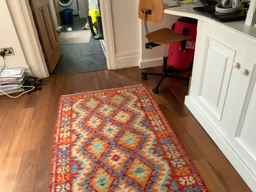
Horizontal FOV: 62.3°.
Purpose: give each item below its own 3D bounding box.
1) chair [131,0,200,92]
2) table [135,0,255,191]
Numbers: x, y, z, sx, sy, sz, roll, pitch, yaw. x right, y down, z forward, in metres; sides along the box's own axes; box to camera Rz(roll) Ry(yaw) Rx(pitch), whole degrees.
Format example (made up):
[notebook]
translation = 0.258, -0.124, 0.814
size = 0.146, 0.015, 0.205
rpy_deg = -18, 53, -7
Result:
[chair]
translation = 0.370, -0.580, 2.230
size = 0.530, 0.880, 0.380
rpy_deg = -21, 37, -25
[table]
translation = 0.670, -0.260, 1.770
size = 0.720, 0.820, 2.220
rpy_deg = -9, 34, -8
